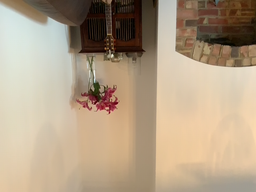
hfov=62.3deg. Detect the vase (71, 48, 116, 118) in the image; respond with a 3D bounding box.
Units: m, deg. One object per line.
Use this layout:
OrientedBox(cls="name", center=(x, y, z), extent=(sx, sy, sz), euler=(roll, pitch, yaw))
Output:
OrientedBox(cls="vase", center=(-0.350, -0.140, 2.270), extent=(0.410, 0.700, 0.300), euler=(0, -173, 3))
